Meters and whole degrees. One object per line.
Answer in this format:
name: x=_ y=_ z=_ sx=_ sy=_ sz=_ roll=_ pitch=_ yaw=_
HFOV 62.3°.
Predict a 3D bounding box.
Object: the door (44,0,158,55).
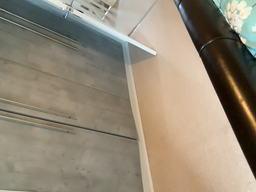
door: x=-0.690 y=-0.880 z=1.880 sx=0.090 sy=1.970 sz=0.830 roll=-63 pitch=32 yaw=12
